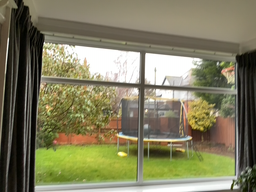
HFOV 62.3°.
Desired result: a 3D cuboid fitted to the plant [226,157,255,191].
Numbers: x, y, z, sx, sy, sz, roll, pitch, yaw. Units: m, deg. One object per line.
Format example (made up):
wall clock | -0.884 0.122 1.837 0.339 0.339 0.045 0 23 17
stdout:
plant | 1.340 1.020 2.350 0.340 0.590 0.320 2 -4 -14
